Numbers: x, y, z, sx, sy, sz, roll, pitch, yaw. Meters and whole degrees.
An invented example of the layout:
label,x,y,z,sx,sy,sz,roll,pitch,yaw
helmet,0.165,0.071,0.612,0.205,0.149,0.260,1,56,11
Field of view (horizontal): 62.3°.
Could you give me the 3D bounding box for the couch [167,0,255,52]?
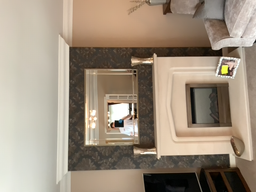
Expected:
label,x,y,z,sx,sy,sz,roll,pitch,yaw
couch,1.020,-1.090,2.360,0.810,0.880,0.860,94,174,-51
